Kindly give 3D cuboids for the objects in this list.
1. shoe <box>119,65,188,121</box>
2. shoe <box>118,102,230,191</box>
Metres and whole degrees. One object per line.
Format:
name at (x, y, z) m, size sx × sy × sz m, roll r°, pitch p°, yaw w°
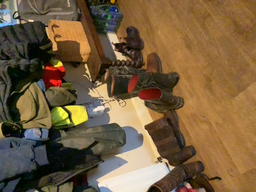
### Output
shoe at (0.170, -0.030, 1.500) m, size 0.210 × 0.330 × 0.310 m, roll -55°, pitch 49°, yaw 48°
shoe at (0.260, 0.410, 1.420) m, size 0.420 × 0.370 × 0.570 m, roll -53°, pitch 51°, yaw 49°
